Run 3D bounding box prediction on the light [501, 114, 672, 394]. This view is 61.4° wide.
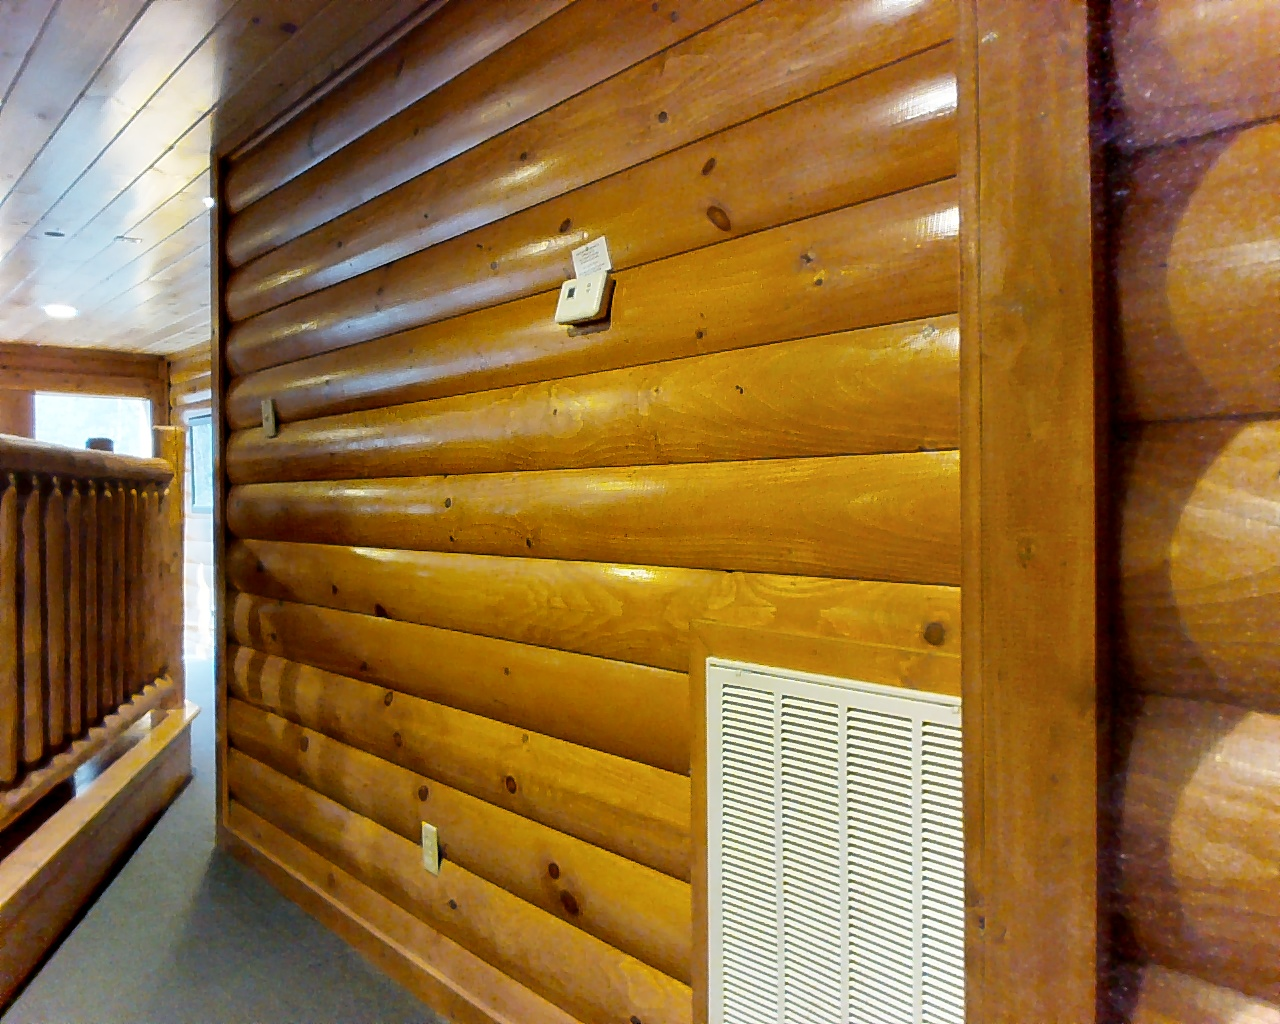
[{"bbox_3d":[-0.110,-0.460,2.020,0.080,0.440,0.410,0,0,-42],"label":"light"}]
